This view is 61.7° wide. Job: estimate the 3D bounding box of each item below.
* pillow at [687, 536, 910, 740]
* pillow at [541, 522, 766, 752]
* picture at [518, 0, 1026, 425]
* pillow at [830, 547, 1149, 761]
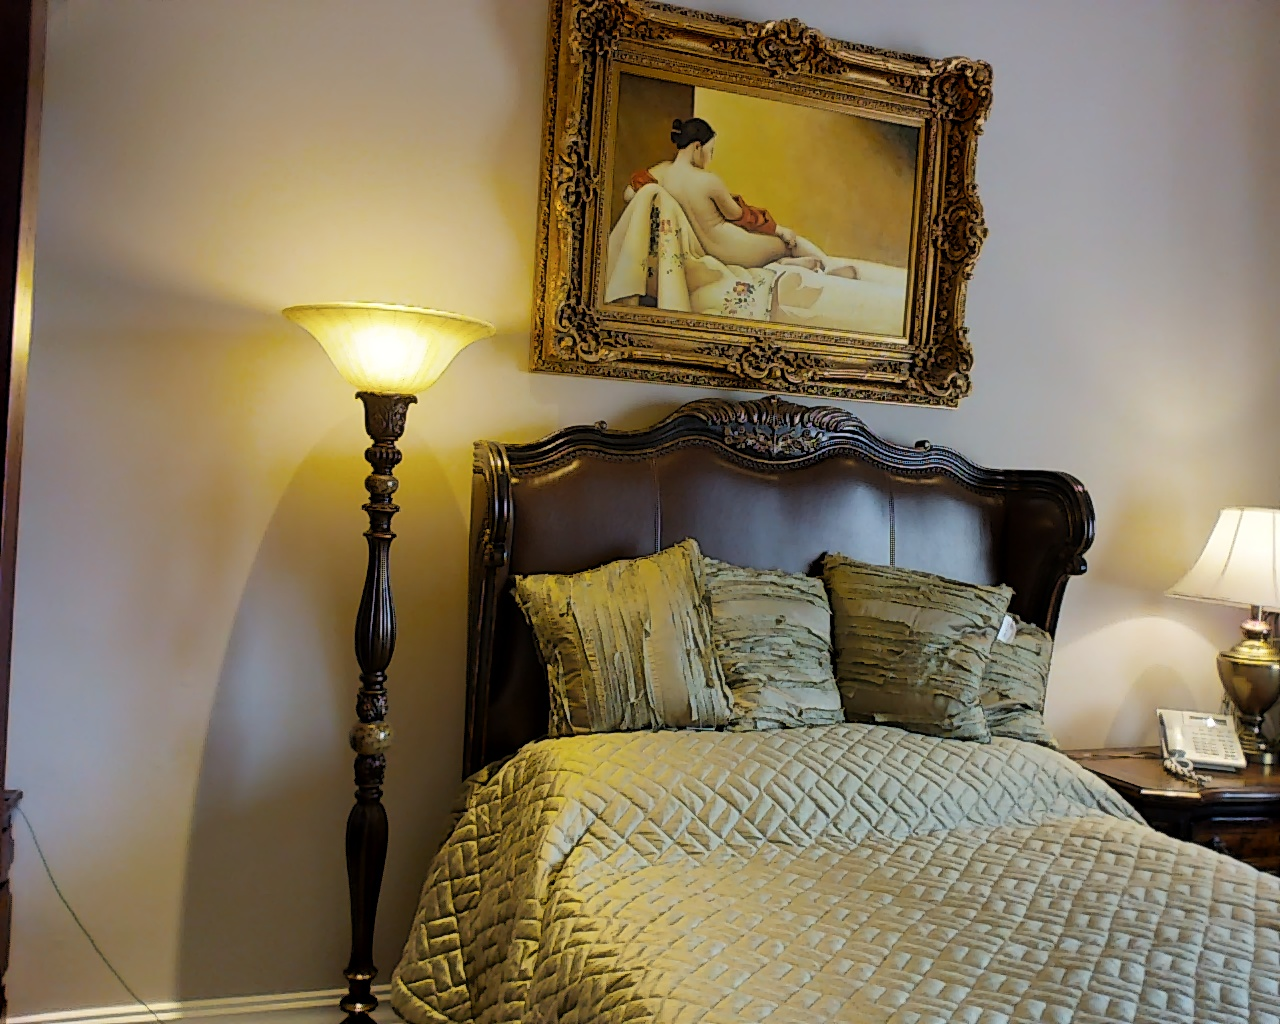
[{"bbox_3d":[0.380,0.320,2.640,0.420,0.430,0.250,5,-25,-23],"label":"pillow"},{"bbox_3d":[0.020,0.290,2.470,0.450,0.480,0.200,2,-19,-16],"label":"pillow"},{"bbox_3d":[0.380,-0.810,2.880,1.350,1.050,0.210,2,-1,-17],"label":"picture"},{"bbox_3d":[0.890,0.370,2.770,0.680,0.480,0.260,2,-22,-17],"label":"pillow"}]
